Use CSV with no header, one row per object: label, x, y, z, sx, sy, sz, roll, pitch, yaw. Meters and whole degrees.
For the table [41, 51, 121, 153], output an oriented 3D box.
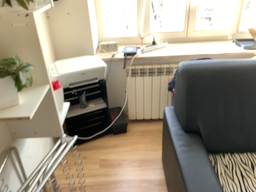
table,-0.400,0.050,1.960,0.570,0.780,0.310,-13,32,-19
